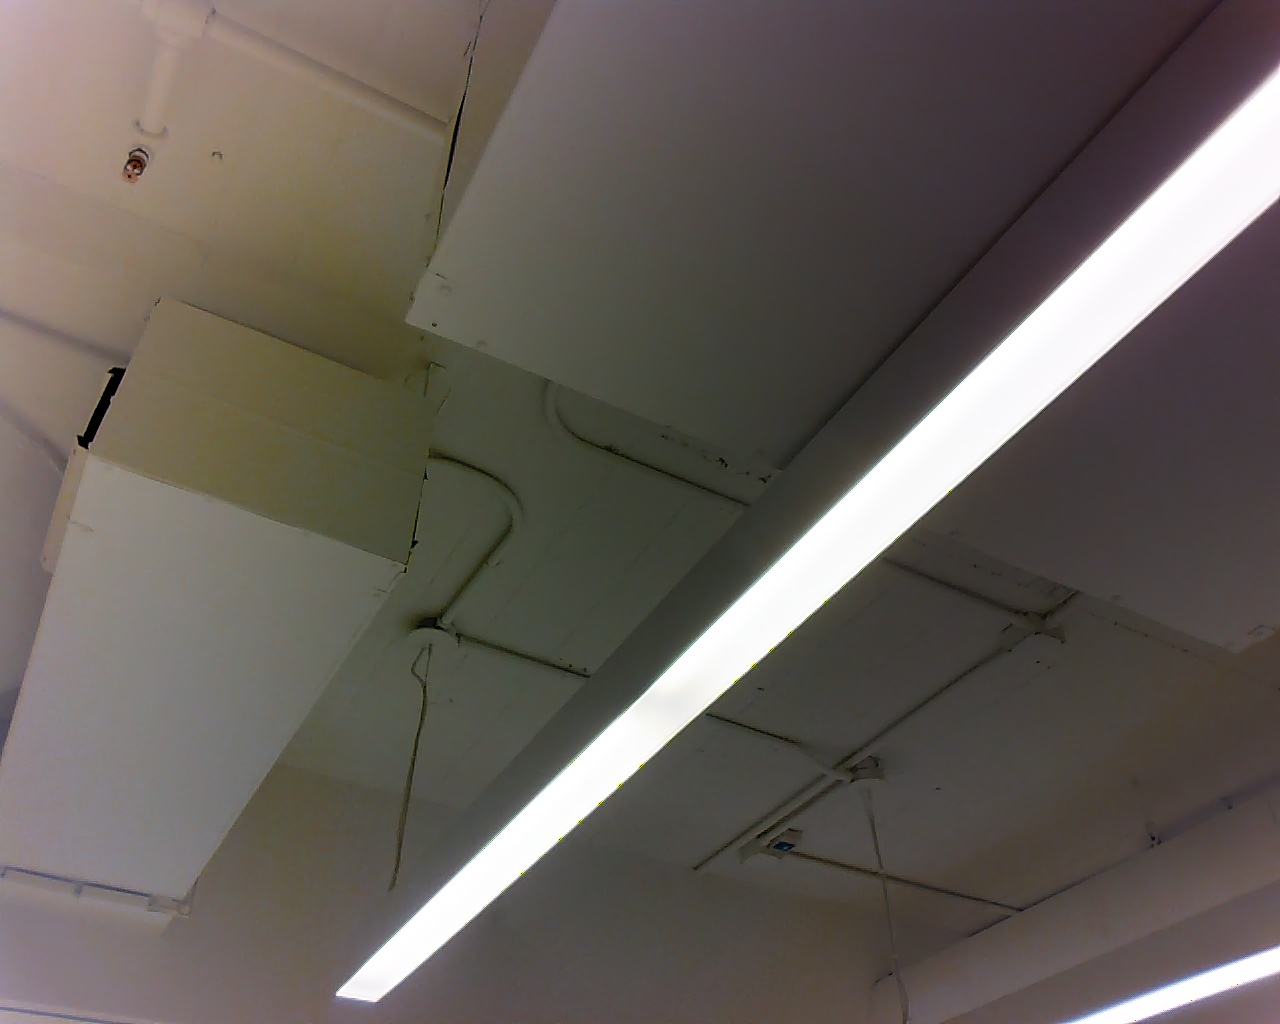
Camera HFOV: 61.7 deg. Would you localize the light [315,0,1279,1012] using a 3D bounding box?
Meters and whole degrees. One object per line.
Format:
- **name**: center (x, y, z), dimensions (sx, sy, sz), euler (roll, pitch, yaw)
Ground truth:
- **light**: center (0.020, 0.220, 1.470), dimensions (0.160, 0.200, 2.480), euler (21, -46, -21)
